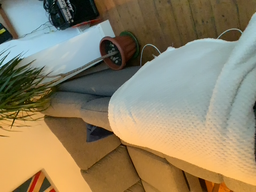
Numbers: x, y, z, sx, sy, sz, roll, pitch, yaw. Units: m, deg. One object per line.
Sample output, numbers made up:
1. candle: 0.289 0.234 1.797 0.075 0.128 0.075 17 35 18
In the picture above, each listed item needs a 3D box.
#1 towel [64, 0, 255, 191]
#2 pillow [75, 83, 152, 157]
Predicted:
1. towel: 0.300 0.040 0.940 0.680 0.670 0.700 2 123 52
2. pillow: -0.170 0.250 1.870 0.380 0.300 0.710 51 149 3
